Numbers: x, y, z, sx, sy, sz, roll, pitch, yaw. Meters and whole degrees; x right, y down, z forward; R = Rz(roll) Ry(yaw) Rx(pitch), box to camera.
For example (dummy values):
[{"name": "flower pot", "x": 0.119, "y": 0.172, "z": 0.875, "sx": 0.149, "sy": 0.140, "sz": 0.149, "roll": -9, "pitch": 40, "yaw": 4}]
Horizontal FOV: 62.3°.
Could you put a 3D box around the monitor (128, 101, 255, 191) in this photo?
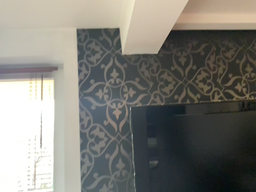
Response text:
[{"name": "monitor", "x": 0.640, "y": 0.390, "z": 1.360, "sx": 1.240, "sy": 0.690, "sz": 0.110, "roll": -3, "pitch": -6, "yaw": -8}]
